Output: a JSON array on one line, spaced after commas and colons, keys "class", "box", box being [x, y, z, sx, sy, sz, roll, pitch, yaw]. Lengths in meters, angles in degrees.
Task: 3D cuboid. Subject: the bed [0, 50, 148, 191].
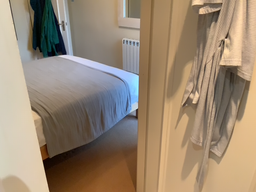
[{"class": "bed", "box": [-1.040, 0.110, 2.410, 1.590, 0.660, 2.050, 21, 32, 36]}]
